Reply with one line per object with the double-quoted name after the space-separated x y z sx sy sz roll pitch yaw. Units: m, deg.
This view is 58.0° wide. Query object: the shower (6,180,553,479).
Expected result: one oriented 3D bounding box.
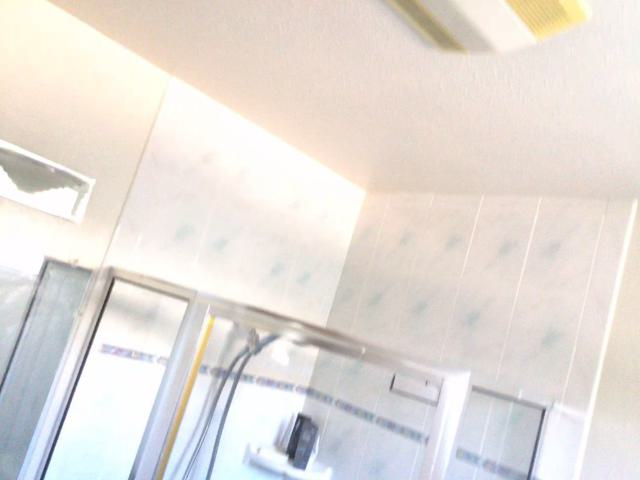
-0.240 1.040 1.490 0.990 2.010 0.900 15 -13 7 "shower"
